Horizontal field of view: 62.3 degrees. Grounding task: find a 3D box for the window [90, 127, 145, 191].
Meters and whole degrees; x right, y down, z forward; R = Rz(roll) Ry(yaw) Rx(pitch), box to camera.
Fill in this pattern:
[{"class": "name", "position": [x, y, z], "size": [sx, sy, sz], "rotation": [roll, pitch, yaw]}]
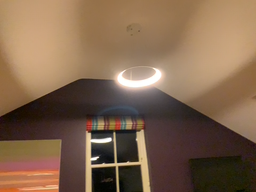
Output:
[{"class": "window", "position": [-0.170, 1.080, 3.230], "size": [0.790, 1.210, 0.070], "rotation": [2, -23, -16]}]
